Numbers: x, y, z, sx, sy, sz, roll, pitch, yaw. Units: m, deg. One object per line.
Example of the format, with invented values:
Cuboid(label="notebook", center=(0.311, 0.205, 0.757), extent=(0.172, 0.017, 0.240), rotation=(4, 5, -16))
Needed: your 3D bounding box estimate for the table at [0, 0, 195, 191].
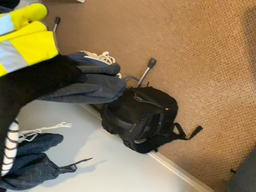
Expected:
Cuboid(label="table", center=(-0.550, -0.200, 1.240), extent=(1.520, 0.940, 0.490), rotation=(29, 108, 32))
